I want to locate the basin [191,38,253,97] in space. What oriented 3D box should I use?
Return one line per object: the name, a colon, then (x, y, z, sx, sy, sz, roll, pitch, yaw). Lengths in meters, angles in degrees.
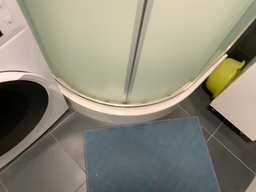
basin: (0.550, -0.160, 1.280, 0.210, 0.300, 0.130, -38, 75, -19)
